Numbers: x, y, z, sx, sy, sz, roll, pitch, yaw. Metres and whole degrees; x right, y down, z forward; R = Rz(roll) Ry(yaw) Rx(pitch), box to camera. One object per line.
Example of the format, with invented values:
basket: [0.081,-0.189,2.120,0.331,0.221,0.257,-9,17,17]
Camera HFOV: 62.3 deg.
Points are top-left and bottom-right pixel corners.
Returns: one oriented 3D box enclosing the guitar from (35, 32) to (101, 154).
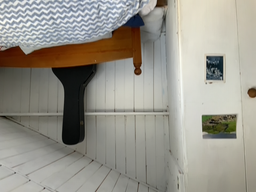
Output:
guitar: [-0.490,-0.020,1.820,0.440,0.940,0.360,-1,176,3]
